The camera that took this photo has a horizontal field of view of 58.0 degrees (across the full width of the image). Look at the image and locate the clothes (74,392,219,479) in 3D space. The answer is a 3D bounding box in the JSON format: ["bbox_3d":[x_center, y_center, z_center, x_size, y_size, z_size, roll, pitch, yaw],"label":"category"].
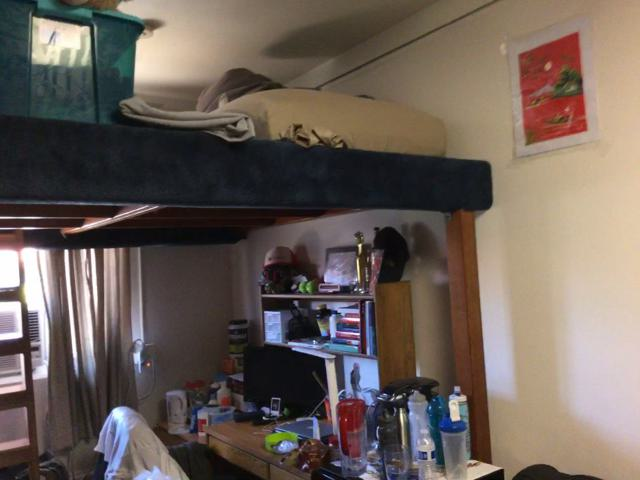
[{"bbox_3d":[-0.780,1.120,2.560,0.450,0.740,0.580,1,-5,-36],"label":"clothes"}]
